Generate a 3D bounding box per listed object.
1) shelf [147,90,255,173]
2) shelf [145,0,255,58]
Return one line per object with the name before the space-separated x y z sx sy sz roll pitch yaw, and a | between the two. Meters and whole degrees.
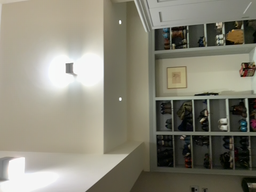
shelf | 1.460 0.590 3.670 0.330 2.190 1.300 23 -115 -77
shelf | 1.430 -1.440 3.860 0.340 2.190 1.270 23 -115 -77
